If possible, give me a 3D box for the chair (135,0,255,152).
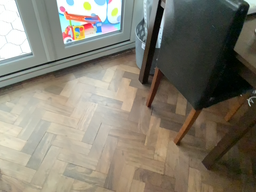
[{"bbox_3d":[0.400,-0.160,1.120,0.500,0.920,0.370,-19,56,-21],"label":"chair"}]
